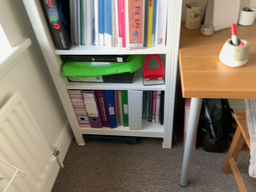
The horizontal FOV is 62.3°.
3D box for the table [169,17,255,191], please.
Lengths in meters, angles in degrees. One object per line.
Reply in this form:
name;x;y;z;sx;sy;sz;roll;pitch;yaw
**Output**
table;0.820;0.060;1.080;1.160;0.720;0.600;1;40;9
